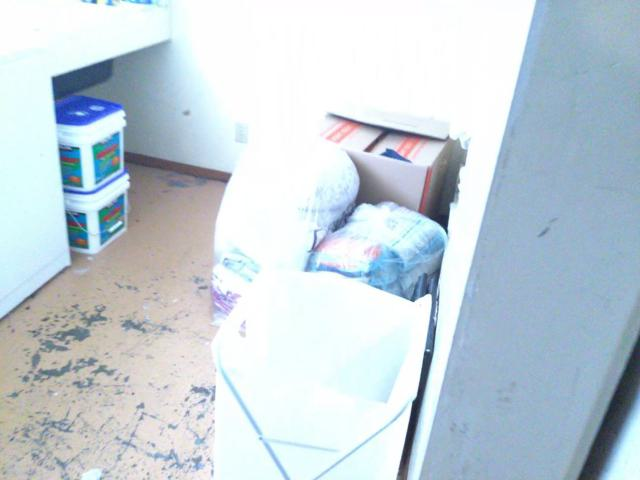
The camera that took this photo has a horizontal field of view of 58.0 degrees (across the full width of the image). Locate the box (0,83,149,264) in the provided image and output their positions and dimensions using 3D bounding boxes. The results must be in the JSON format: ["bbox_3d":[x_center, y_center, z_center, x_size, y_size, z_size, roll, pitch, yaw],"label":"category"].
[{"bbox_3d":[-1.140,-0.300,2.460,0.690,0.560,0.350,13,28,13],"label":"box"}]
